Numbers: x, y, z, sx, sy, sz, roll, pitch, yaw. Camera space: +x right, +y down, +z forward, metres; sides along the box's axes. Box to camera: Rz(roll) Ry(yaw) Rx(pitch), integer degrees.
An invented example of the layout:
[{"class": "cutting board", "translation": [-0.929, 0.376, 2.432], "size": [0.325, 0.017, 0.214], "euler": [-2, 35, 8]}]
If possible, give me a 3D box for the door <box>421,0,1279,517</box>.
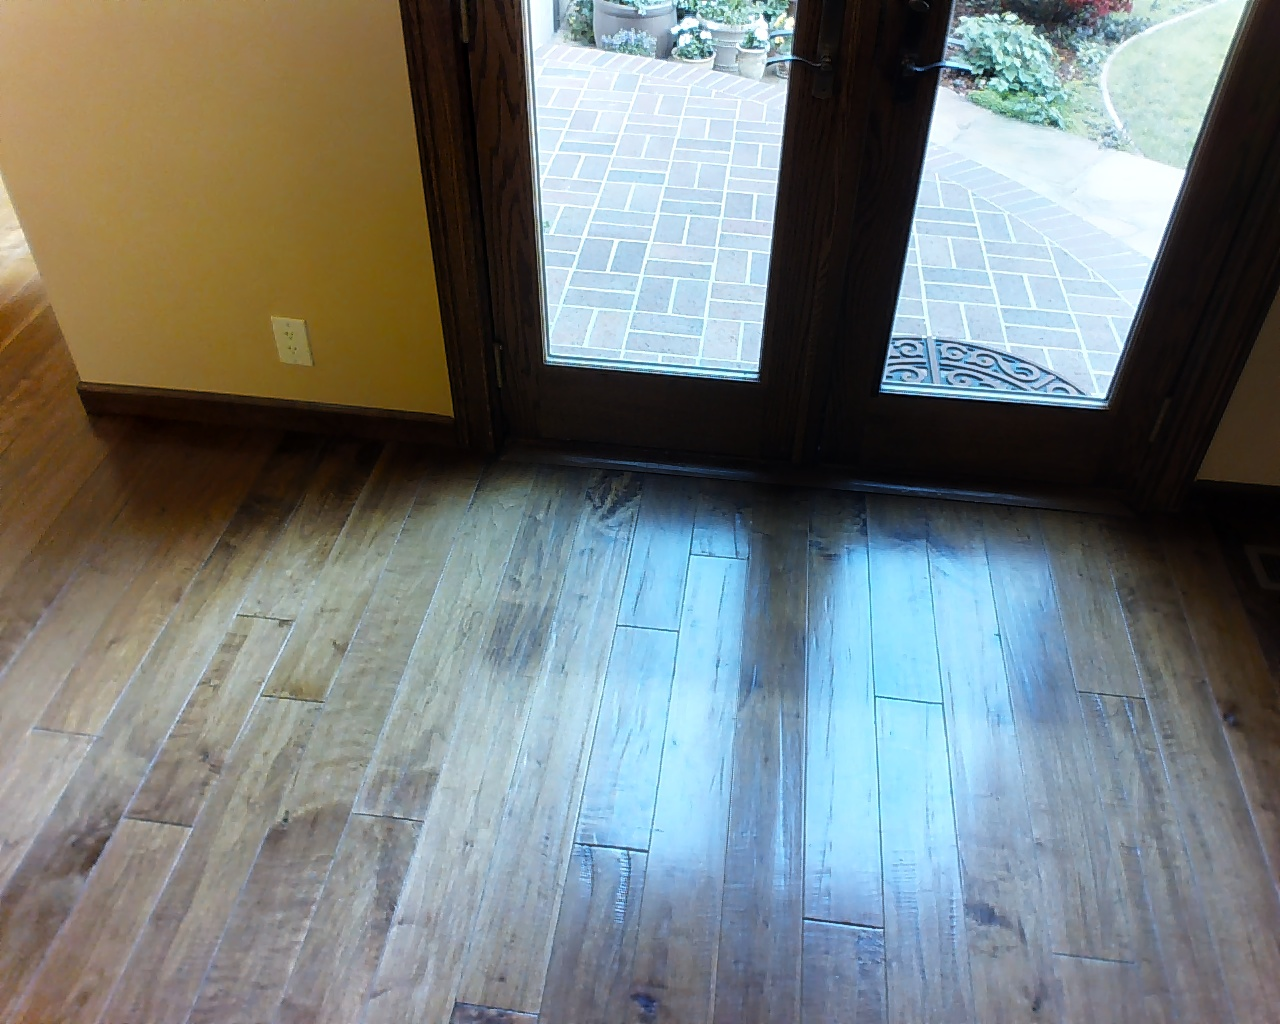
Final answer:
[{"class": "door", "translation": [0.400, -0.850, 1.870], "size": [1.560, 1.990, 0.140], "euler": [5, 42, 5]}]
